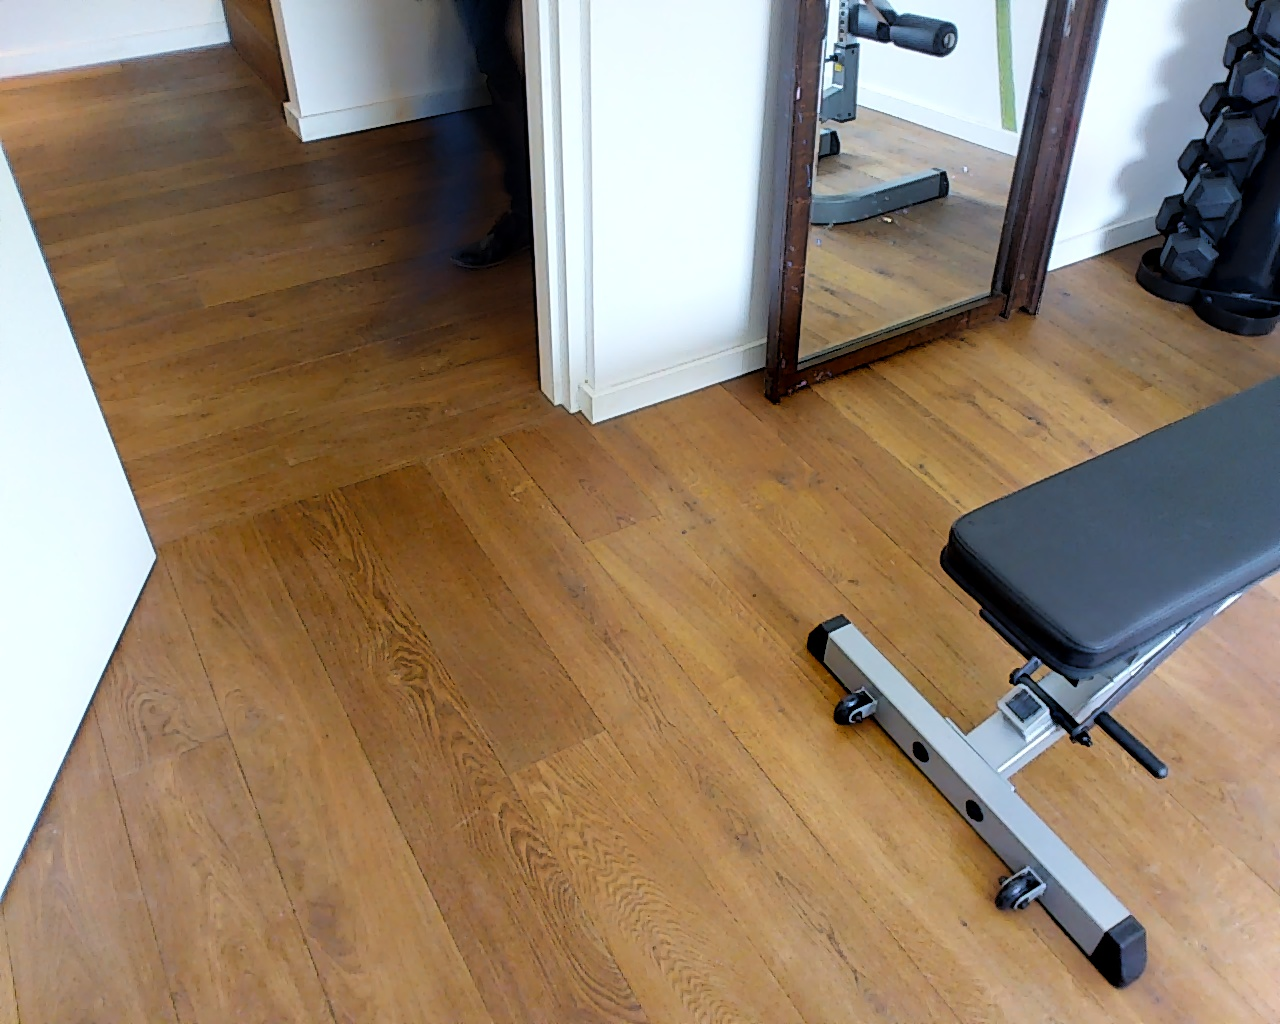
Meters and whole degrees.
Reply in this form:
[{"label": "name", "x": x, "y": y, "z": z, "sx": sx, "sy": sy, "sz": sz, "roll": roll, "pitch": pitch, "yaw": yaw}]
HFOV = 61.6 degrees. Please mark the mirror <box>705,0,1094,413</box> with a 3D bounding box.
[{"label": "mirror", "x": 0.550, "y": -1.070, "z": 2.020, "sx": 0.760, "sy": 1.790, "sz": 0.200, "roll": -21, "pitch": 46, "yaw": -23}]
